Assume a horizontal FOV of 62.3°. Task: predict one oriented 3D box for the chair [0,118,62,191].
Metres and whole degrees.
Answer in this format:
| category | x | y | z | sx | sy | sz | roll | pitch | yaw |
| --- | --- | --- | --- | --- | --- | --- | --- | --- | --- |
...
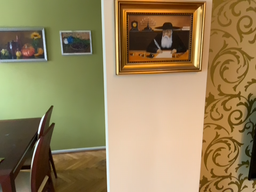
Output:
| category | x | y | z | sx | sy | sz | roll | pitch | yaw |
| --- | --- | --- | --- | --- | --- | --- | --- | --- | --- |
| chair | -0.940 | 0.730 | 1.900 | 0.550 | 0.940 | 0.440 | -2 | 13 | -6 |
